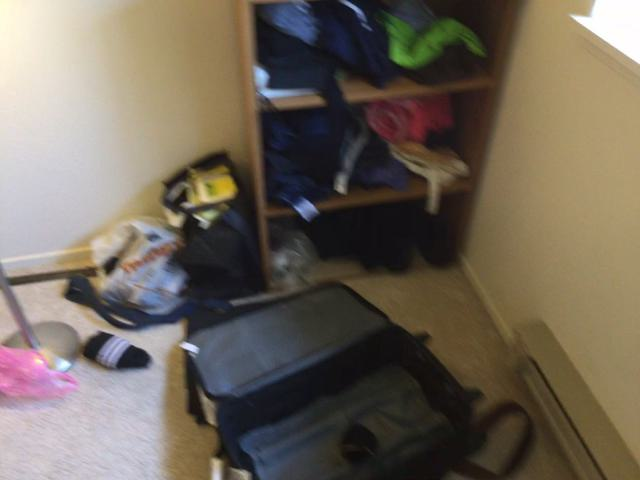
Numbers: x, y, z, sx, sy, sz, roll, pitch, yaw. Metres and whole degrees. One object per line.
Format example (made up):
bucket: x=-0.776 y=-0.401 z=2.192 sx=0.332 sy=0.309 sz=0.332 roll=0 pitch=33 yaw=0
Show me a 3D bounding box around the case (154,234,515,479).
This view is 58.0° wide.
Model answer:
case: x=-0.020 y=0.340 z=1.460 sx=0.610 sy=0.170 sz=0.770 roll=-15 pitch=40 yaw=-19
